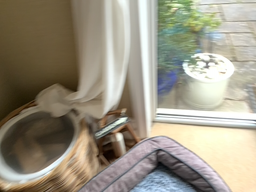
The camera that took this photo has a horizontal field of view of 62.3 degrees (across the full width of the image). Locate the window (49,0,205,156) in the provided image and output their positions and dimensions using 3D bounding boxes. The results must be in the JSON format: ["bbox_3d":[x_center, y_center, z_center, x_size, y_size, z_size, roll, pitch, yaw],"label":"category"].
[{"bbox_3d":[-0.030,-0.660,0.500,0.530,2.630,0.220,6,46,12],"label":"window"}]
